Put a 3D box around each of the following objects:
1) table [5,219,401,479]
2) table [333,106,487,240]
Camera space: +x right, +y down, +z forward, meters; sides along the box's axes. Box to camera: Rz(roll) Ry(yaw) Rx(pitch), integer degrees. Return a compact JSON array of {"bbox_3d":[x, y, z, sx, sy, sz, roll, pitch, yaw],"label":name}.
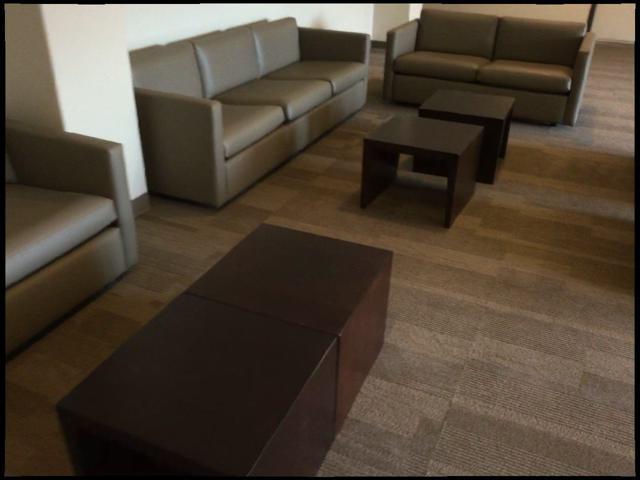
[{"bbox_3d":[-0.230,0.411,1.730,0.599,0.431,1.050,14,32,21],"label":"table"},{"bbox_3d":[0.499,-0.401,3.170,0.629,0.421,0.650,14,32,21],"label":"table"}]
